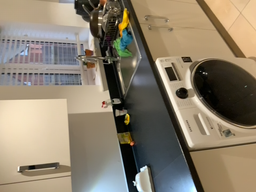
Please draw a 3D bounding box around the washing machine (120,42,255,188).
[{"bbox_3d":[0.520,0.150,1.560,0.750,0.890,0.680,114,149,-50],"label":"washing machine"}]

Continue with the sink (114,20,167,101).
[{"bbox_3d":[0.070,-0.280,1.780,0.500,0.200,0.440,114,149,-50],"label":"sink"}]
